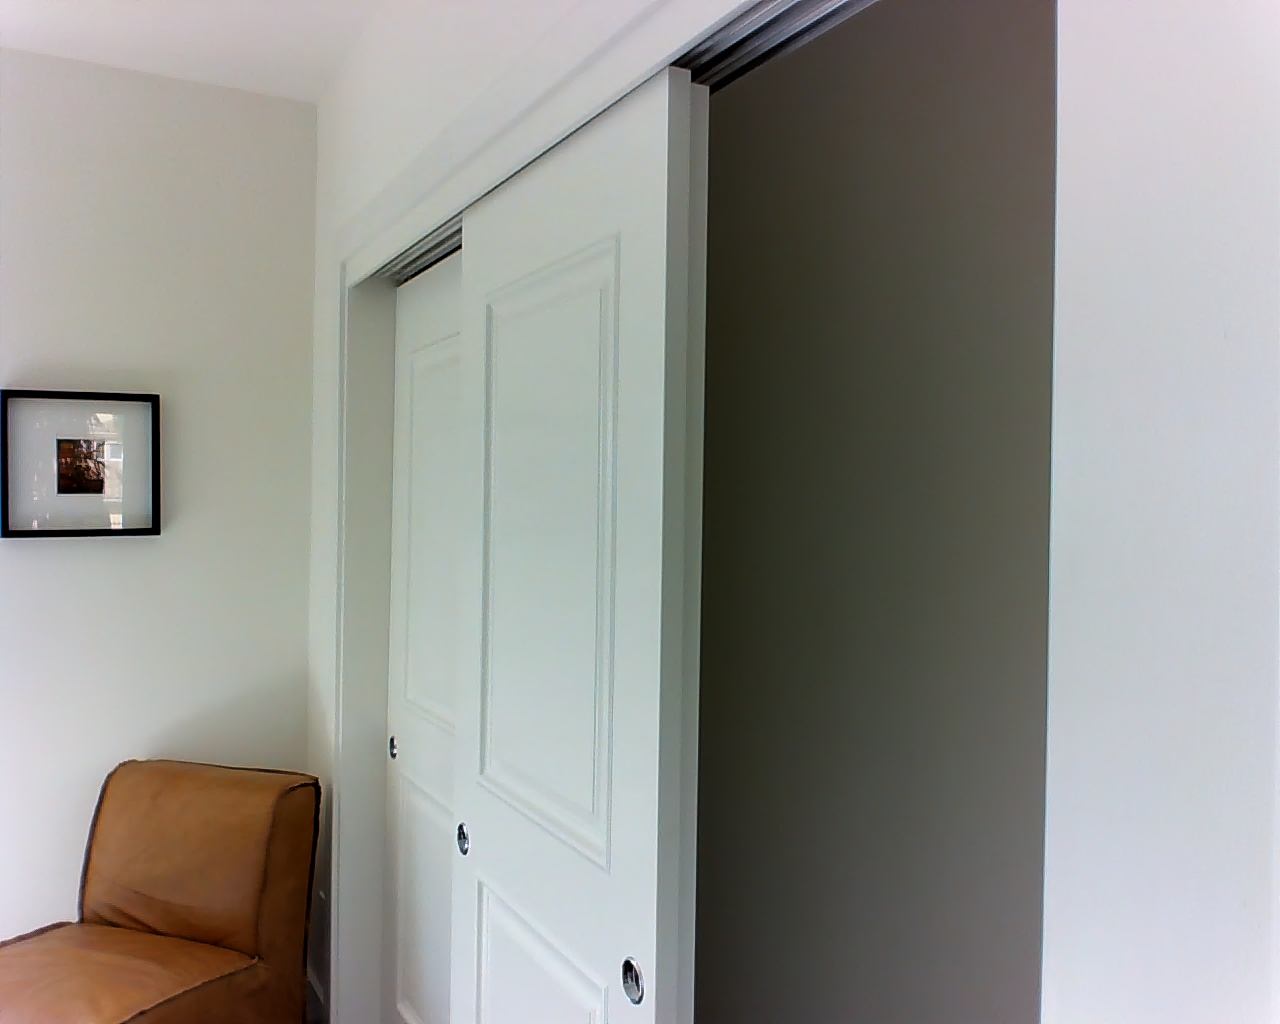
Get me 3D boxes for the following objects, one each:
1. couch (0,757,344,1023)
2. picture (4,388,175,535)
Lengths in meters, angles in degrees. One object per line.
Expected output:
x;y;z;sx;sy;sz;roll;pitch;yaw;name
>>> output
-1.220;1.100;2.550;0.660;0.810;0.780;1;0;18;couch
-1.480;-0.130;2.900;0.400;0.380;0.040;1;0;-28;picture
